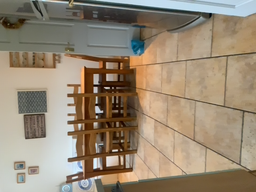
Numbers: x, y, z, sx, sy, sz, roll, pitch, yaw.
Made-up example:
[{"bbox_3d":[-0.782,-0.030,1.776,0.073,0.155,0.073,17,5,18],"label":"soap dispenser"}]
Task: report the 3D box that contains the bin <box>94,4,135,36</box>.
[{"bbox_3d":[-0.220,-1.170,3.310,0.290,0.590,0.380,-154,64,-72],"label":"bin"}]
